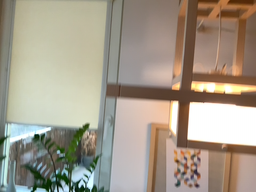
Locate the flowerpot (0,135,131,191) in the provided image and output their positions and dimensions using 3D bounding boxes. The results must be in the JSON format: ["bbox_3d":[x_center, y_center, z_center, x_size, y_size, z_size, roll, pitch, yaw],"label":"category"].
[{"bbox_3d":[-0.340,0.570,1.350,0.630,0.500,0.520,5,-1,7],"label":"flowerpot"}]
